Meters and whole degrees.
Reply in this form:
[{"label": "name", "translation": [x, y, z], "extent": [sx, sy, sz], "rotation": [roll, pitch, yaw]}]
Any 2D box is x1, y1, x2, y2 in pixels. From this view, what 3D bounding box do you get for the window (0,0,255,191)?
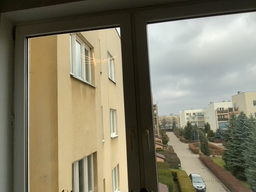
[{"label": "window", "translation": [0.030, 0.150, 1.360], "extent": [1.830, 1.600, 0.260], "rotation": [-4, -7, 10]}]
